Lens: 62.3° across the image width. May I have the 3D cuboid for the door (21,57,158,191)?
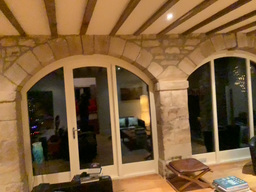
[{"bbox_3d":[-0.670,0.470,4.130,2.430,2.350,0.120,-4,1,-11],"label":"door"}]

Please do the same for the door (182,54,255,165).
[{"bbox_3d":[2.360,0.230,4.810,2.250,2.320,0.160,-4,1,-14],"label":"door"}]
